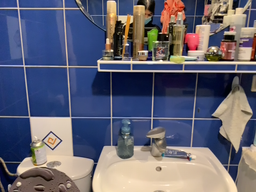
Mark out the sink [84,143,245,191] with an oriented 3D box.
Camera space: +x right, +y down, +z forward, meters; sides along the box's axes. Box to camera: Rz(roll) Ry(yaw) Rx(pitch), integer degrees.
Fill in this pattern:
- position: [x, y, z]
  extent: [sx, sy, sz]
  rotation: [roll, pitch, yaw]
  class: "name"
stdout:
- position: [0.130, 0.360, 0.890]
  extent: [0.560, 0.130, 0.420]
  rotation: [1, 15, 0]
  class: "sink"
